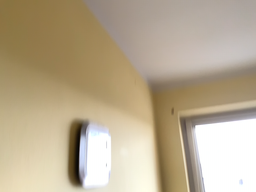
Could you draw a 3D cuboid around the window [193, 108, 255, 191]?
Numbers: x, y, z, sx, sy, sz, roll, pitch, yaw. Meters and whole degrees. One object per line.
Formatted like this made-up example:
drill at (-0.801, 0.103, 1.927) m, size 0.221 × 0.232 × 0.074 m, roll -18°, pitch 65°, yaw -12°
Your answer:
window at (1.140, 0.850, 1.800) m, size 1.100 × 1.500 × 0.200 m, roll -1°, pitch -19°, yaw 17°
